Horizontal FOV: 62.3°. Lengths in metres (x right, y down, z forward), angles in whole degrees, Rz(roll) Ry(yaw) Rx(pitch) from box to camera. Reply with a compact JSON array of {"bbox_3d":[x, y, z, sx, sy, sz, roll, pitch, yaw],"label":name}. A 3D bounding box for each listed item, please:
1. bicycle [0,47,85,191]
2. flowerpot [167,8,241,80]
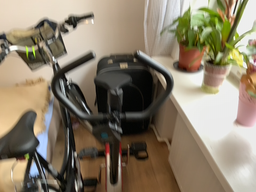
[{"bbox_3d":[-0.380,0.360,1.020,0.270,0.720,1.490,-2,32,-9],"label":"bicycle"},{"bbox_3d":[0.430,-0.320,1.290,0.270,0.360,0.260,-2,32,-9],"label":"flowerpot"}]
